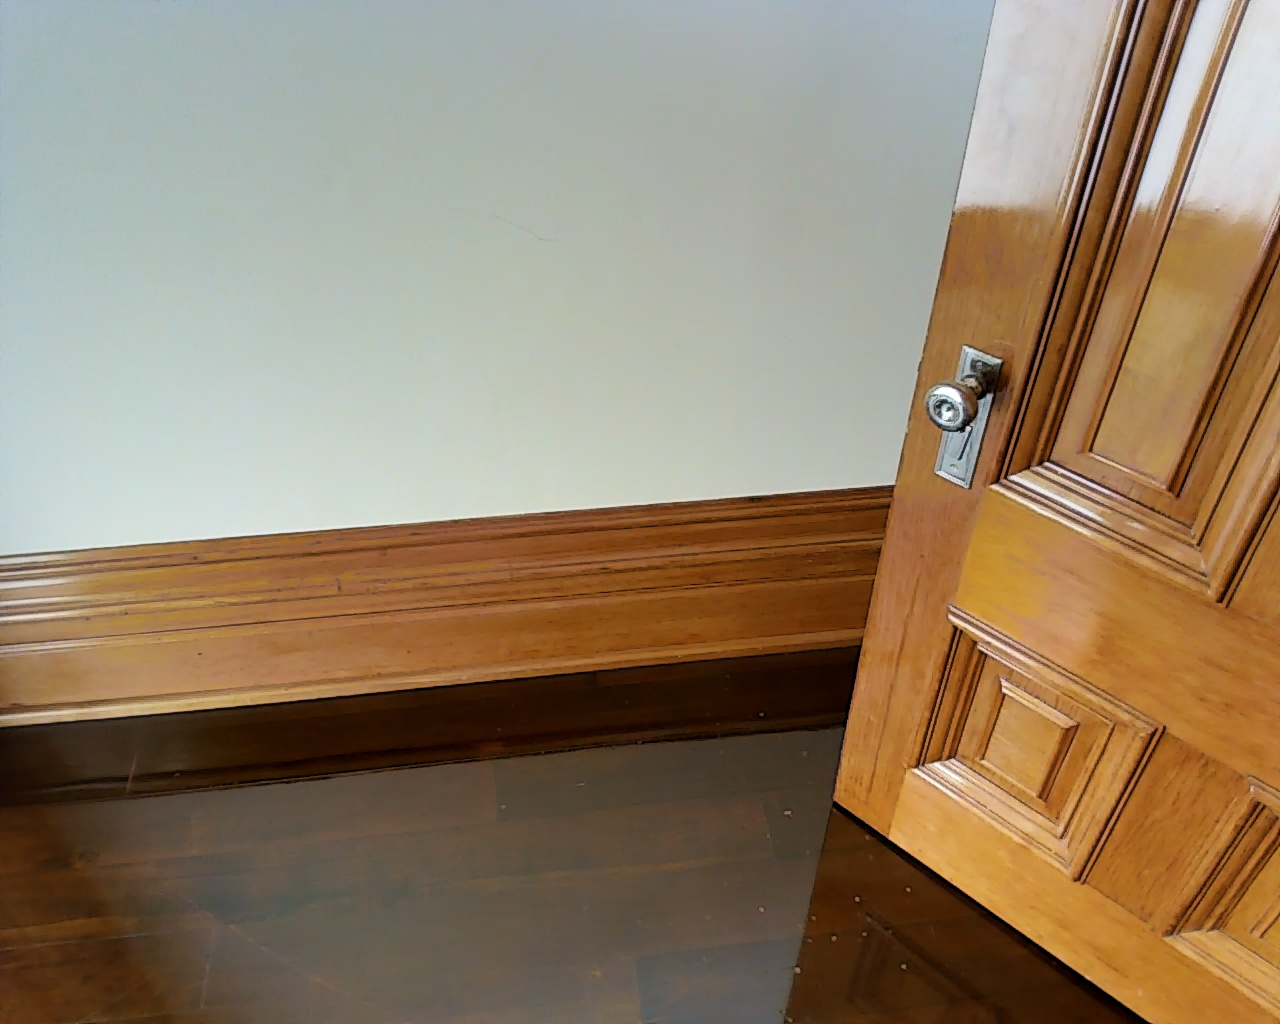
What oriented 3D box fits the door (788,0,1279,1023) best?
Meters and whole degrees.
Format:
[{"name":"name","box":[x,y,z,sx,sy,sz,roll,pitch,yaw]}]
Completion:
[{"name":"door","box":[0.630,-0.210,0.850,0.970,2.280,0.080,33,51,31]}]
